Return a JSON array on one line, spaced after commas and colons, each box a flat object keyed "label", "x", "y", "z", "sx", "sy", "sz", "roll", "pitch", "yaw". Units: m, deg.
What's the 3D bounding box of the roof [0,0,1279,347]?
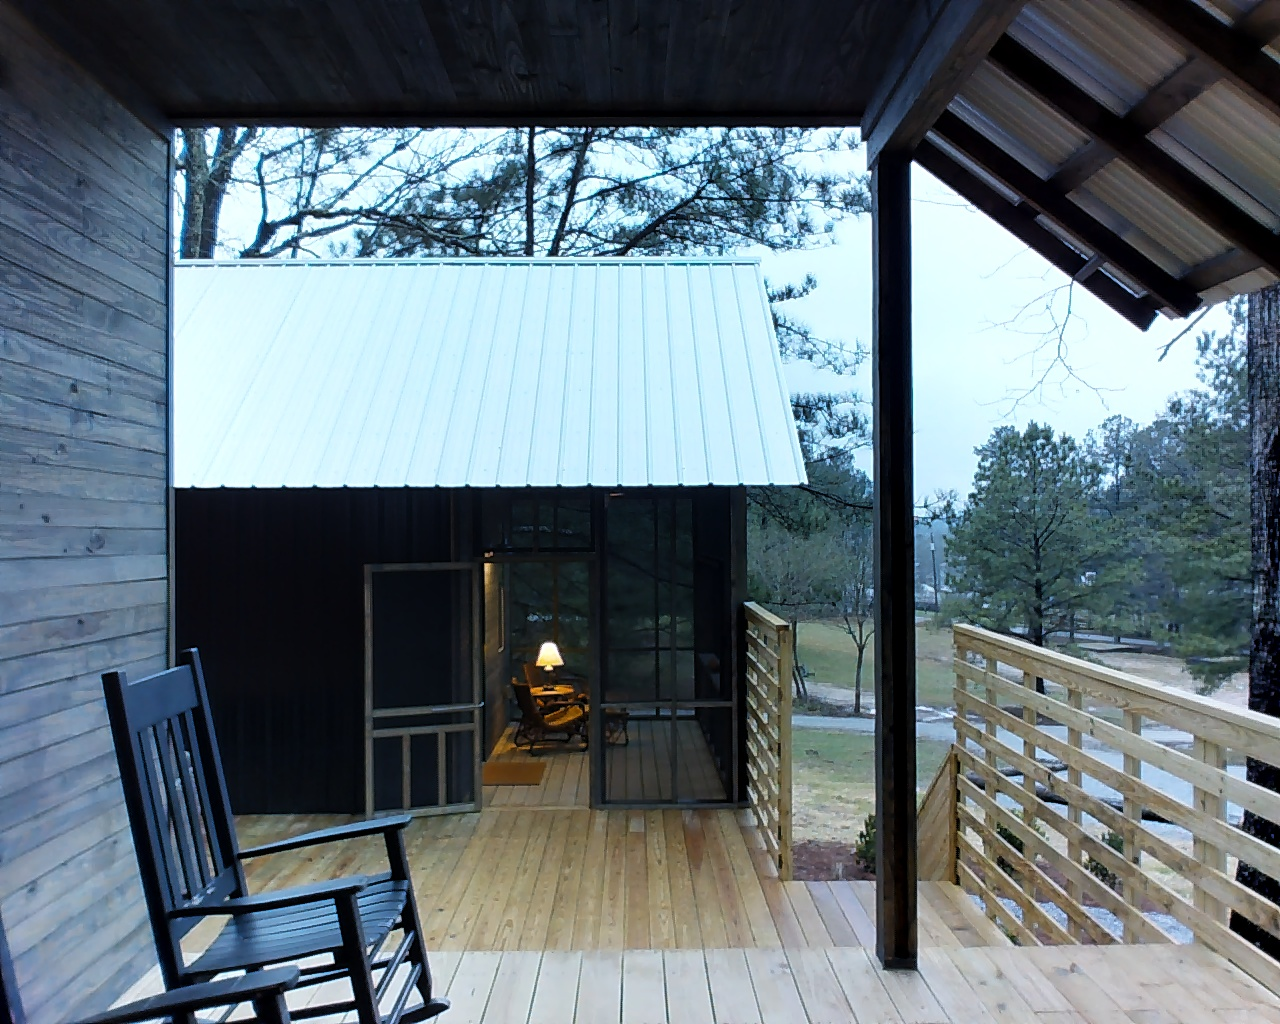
[{"label": "roof", "x": 0.170, "y": -1.290, "z": 1.390, "sx": 4.170, "sy": 1.180, "sz": 5.890, "roll": 0, "pitch": 0, "yaw": -1}]

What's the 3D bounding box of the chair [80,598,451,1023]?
[{"label": "chair", "x": -0.980, "y": 0.940, "z": 3.030, "sx": 0.740, "sy": 1.270, "sz": 0.700, "roll": 0, "pitch": 7, "yaw": 0}]
